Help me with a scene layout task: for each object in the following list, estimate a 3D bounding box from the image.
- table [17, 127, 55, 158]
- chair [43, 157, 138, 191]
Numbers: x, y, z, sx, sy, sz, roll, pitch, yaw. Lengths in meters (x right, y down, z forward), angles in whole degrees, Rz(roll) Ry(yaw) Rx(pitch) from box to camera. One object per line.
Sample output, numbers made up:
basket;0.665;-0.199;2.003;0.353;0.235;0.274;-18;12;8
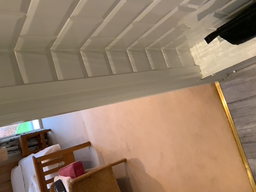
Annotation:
table;-1.760;0.890;4.060;0.320;0.520;0.410;-28;78;51
chair;-0.380;1.040;2.190;0.700;0.670;0.570;-26;79;51
